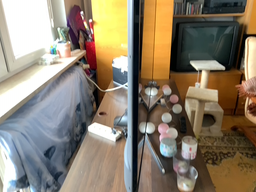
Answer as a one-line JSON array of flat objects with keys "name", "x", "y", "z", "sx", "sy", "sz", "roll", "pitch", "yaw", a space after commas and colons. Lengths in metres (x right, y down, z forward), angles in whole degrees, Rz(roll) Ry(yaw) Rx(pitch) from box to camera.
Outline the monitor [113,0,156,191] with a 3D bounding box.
[{"name": "monitor", "x": 0.090, "y": -0.200, "z": 1.140, "sx": 0.070, "sy": 0.760, "sz": 1.230, "roll": 3, "pitch": 24, "yaw": 8}]
